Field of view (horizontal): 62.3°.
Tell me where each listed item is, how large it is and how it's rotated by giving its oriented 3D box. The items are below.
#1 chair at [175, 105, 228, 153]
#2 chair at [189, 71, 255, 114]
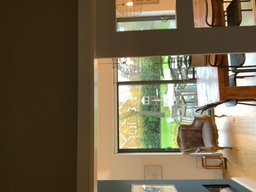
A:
[{"bbox_3d":[1.560,0.750,4.690,0.700,0.840,0.880,84,-175,-65],"label":"chair"},{"bbox_3d":[1.460,-0.030,3.190,0.540,0.910,0.570,69,-160,-83],"label":"chair"}]
